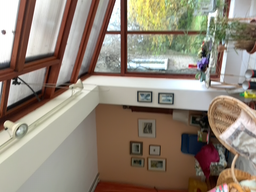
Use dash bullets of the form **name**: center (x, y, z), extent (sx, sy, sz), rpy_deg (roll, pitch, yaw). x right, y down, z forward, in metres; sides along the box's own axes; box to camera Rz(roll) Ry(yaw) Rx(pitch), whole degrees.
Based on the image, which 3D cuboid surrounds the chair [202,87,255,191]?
- **chair**: center (1.010, 0.430, 1.490), extent (0.610, 0.820, 0.720), rpy_deg (78, -161, -58)

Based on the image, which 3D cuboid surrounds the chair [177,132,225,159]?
- **chair**: center (1.430, 0.980, 4.220), extent (0.100, 0.840, 0.450), rpy_deg (-59, -28, -69)
